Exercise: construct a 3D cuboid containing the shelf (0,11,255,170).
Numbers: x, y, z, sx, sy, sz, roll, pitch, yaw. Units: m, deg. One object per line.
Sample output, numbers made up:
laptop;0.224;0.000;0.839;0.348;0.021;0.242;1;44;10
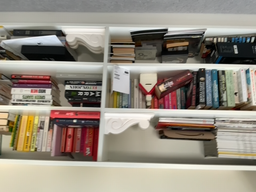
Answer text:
shelf;-0.130;-0.020;1.310;1.880;0.840;0.440;1;165;1
